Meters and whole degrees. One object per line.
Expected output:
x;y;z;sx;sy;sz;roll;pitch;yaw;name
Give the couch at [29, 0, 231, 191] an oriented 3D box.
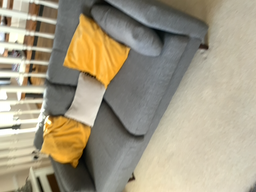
-0.190;0.050;1.870;0.940;0.820;1.810;47;125;39;couch
